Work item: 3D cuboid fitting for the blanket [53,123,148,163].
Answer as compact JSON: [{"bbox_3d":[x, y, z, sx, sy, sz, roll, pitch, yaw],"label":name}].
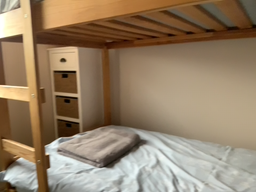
[{"bbox_3d":[-0.160,0.280,1.400,0.380,0.030,0.510,5,11,35],"label":"blanket"}]
